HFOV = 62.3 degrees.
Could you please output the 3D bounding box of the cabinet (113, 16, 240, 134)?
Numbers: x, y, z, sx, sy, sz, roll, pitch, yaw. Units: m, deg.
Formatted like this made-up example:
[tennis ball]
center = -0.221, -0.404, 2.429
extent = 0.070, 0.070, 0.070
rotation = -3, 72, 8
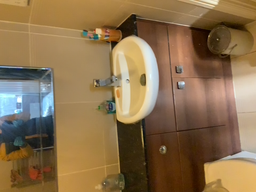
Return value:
[cabinet]
center = 0.350, -0.120, 1.480
extent = 0.310, 0.790, 0.650
rotation = -14, 80, 60
